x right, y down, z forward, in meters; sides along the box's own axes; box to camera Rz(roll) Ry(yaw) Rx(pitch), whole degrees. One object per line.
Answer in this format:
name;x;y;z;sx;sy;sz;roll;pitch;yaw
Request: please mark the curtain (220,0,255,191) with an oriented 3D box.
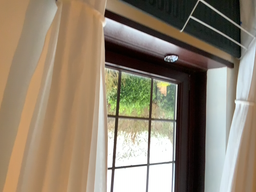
curtain;0.730;0.280;1.310;0.260;2.330;0.190;9;172;-41
